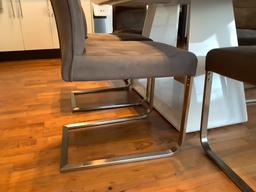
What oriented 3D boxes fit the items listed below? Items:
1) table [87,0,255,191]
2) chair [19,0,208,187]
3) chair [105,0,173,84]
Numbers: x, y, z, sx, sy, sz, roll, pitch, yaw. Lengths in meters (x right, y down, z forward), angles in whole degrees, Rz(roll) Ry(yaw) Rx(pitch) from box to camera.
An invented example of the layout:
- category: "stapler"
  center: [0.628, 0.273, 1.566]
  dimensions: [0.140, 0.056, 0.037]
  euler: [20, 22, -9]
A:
- category: "table"
  center: [0.360, -0.310, 1.470]
  dimensions: [0.920, 0.770, 1.990]
  euler: [-8, 22, -18]
- category: "chair"
  center: [-0.070, -0.230, 0.920]
  dimensions: [0.590, 1.010, 0.470]
  euler: [-6, 21, -13]
- category: "chair"
  center: [0.080, -0.710, 2.190]
  dimensions: [0.470, 1.000, 0.610]
  euler: [-8, 22, -19]
